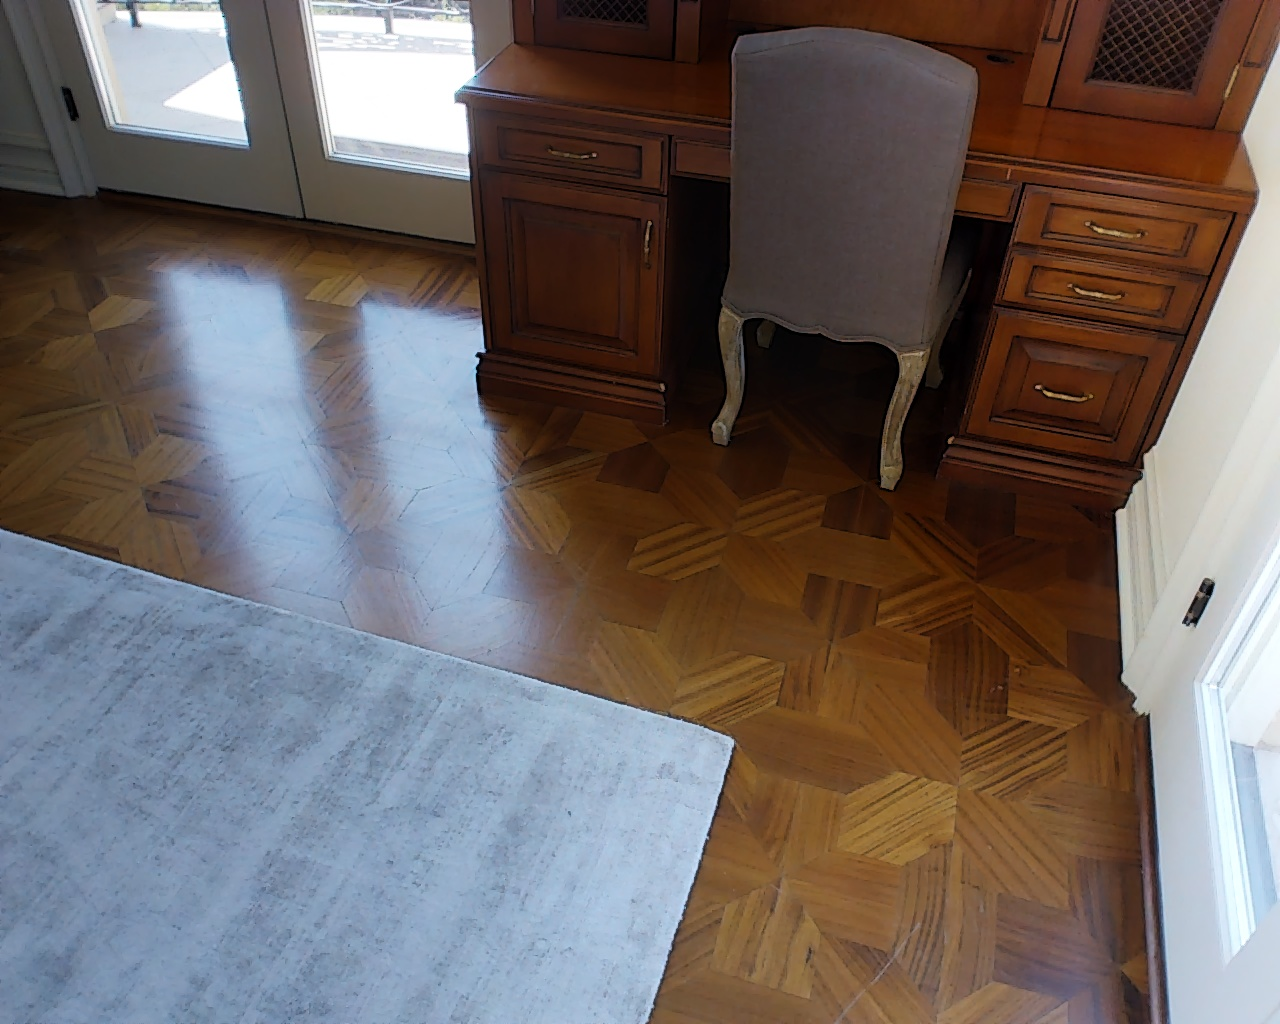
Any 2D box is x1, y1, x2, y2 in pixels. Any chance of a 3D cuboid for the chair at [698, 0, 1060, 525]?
[{"bbox_3d":[0.480,-0.580,2.310,0.540,1.020,0.540,12,42,12],"label":"chair"}]
